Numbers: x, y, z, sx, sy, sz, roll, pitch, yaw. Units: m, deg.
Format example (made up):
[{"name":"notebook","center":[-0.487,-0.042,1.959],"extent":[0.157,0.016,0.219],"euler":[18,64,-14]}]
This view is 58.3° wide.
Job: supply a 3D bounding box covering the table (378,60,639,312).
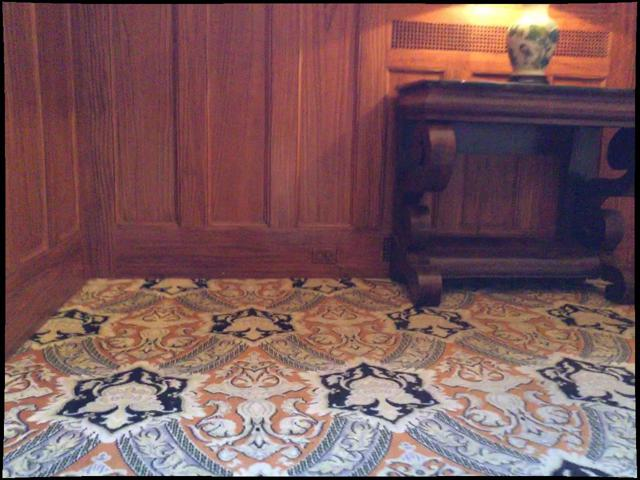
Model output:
[{"name":"table","center":[0.829,-0.230,2.440],"extent":[1.019,0.921,0.540],"euler":[0,10,-9]}]
